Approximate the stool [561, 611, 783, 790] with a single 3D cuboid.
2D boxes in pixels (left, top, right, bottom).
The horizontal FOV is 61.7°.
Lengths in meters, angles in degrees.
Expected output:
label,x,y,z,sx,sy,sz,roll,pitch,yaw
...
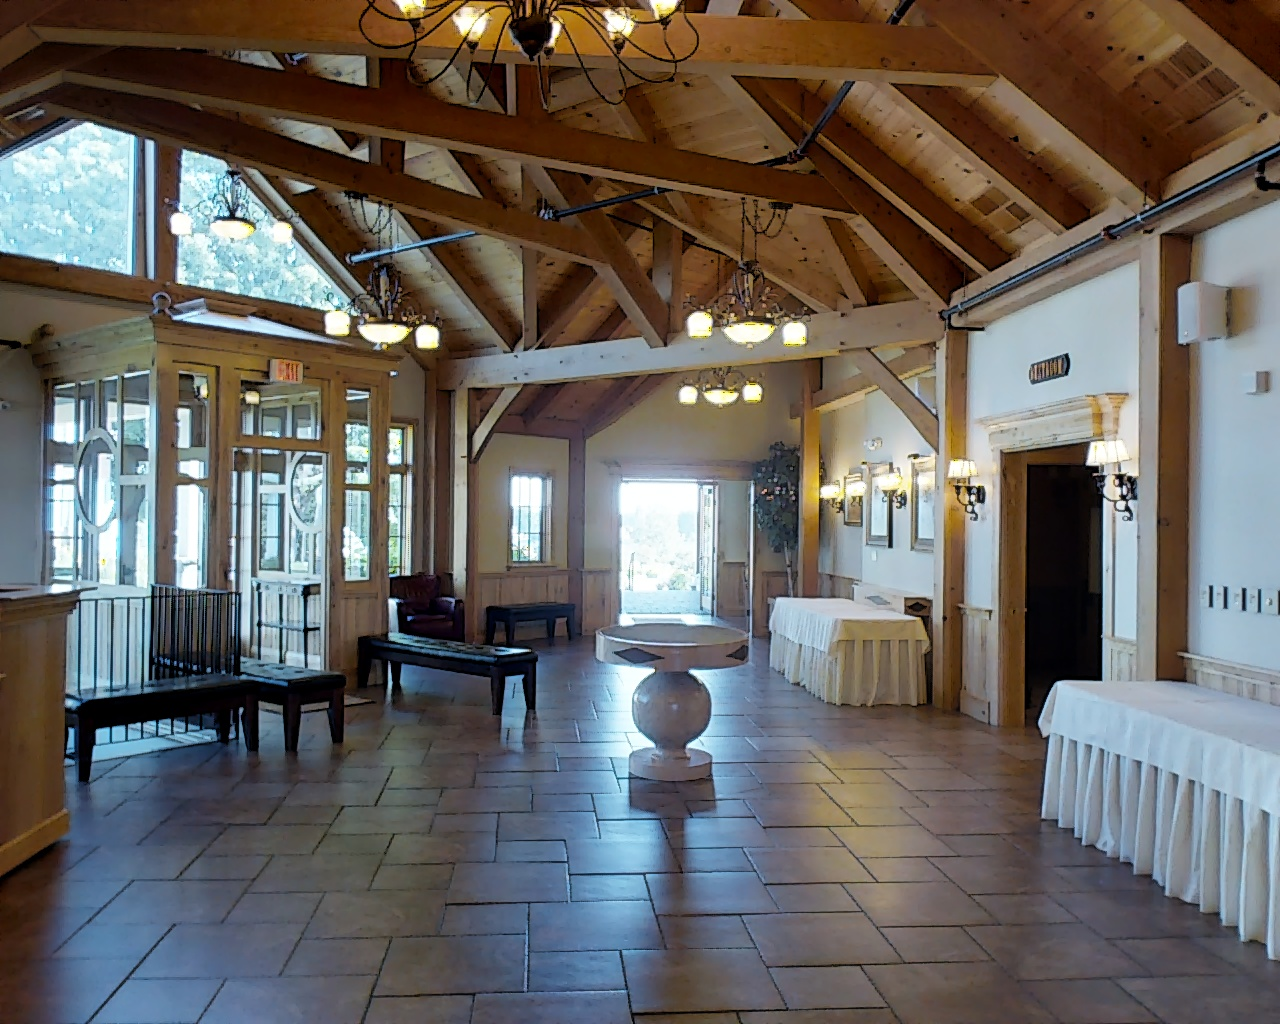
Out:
label,x,y,z,sx,sy,sz,roll,pitch,yaw
stool,0.210,1.130,6.750,0.960,0.880,1.030,1,0,39
